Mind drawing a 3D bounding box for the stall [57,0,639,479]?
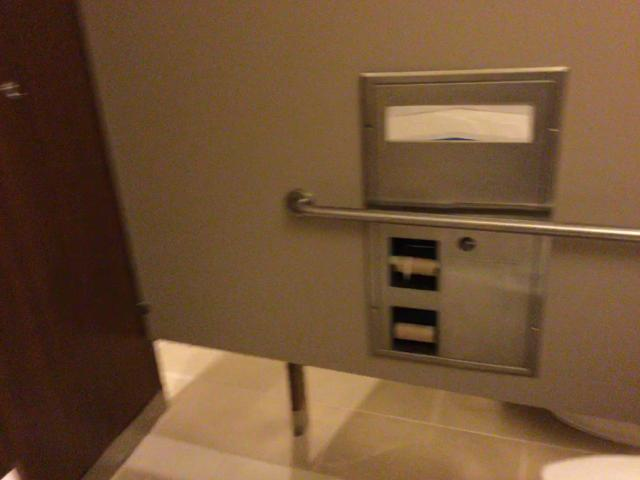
[{"bbox_3d":[0.310,0.050,1.460,1.950,1.370,0.190,5,24,23],"label":"stall"}]

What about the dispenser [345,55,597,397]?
[{"bbox_3d":[0.350,-0.020,1.410,0.520,0.790,0.110,5,24,23],"label":"dispenser"}]
